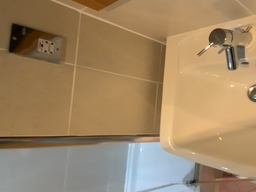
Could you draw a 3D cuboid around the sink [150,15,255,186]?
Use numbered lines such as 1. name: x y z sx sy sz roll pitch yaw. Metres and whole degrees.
1. sink: 0.390 0.010 0.710 0.620 0.200 0.480 5 88 50
